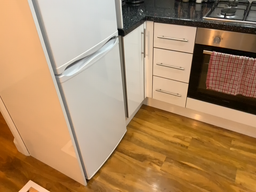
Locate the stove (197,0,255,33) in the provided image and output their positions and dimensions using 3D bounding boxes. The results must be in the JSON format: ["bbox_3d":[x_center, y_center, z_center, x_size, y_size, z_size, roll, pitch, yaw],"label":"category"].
[{"bbox_3d":[0.870,-0.570,1.500,0.610,0.050,0.560,17,41,24],"label":"stove"}]
